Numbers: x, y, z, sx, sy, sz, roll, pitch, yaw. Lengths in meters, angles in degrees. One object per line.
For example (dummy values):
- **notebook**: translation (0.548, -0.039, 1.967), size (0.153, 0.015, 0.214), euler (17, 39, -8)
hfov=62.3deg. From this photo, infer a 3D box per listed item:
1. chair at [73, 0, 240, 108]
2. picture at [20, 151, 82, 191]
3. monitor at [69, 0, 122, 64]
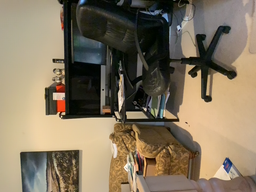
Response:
- **chair**: translation (0.160, -0.340, 1.840), size (0.670, 1.170, 0.780), euler (127, 143, -73)
- **picture**: translation (-1.060, 1.370, 3.000), size (0.070, 0.800, 1.210), euler (-131, 42, -75)
- **monitor**: translation (-0.400, -0.770, 2.600), size (0.060, 0.590, 0.750), euler (-107, 21, -60)
